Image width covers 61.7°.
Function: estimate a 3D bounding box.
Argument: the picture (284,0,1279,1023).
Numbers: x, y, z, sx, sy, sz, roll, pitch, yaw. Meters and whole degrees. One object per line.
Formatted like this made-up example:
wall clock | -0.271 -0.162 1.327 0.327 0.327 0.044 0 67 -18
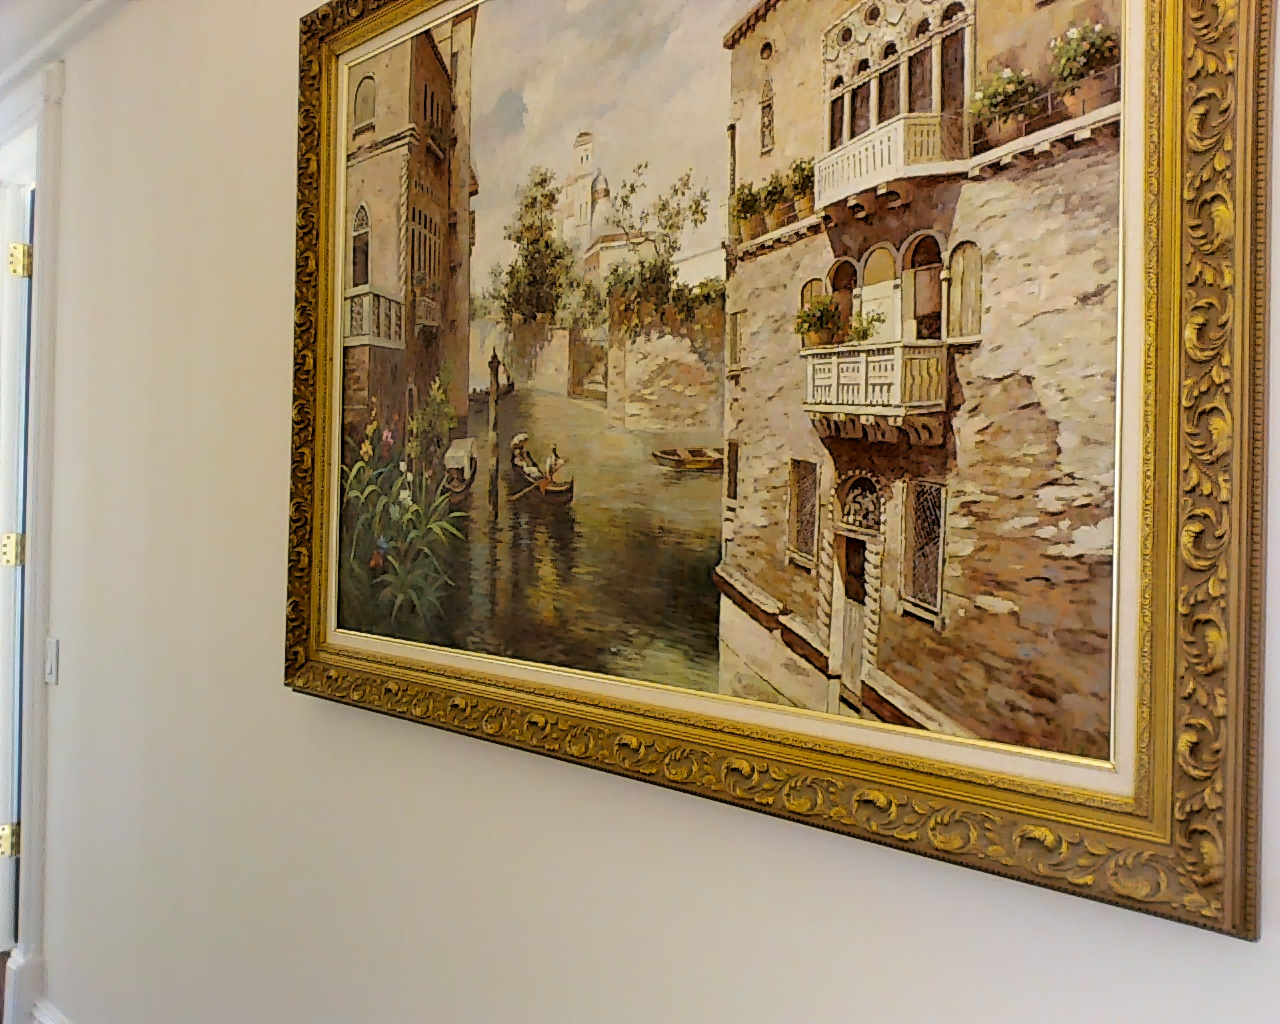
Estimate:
picture | -0.030 -0.220 1.280 1.440 1.160 0.070 1 -1 44
